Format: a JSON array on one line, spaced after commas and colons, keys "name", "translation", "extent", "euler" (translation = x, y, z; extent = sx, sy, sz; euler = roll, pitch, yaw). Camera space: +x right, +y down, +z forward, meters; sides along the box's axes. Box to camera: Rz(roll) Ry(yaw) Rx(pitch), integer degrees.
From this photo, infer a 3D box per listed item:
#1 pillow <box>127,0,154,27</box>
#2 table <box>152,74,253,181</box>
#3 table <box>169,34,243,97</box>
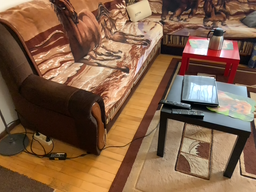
[{"name": "pillow", "translation": [0.200, -1.250, 3.150], "extent": [0.120, 0.310, 0.400], "euler": [6, 34, 41]}, {"name": "table", "translation": [0.570, 0.200, 1.670], "extent": [0.580, 0.440, 0.580], "euler": [13, 37, 18]}, {"name": "table", "translation": [0.910, -0.390, 2.510], "extent": [0.680, 0.450, 0.550], "euler": [13, 37, 18]}]
